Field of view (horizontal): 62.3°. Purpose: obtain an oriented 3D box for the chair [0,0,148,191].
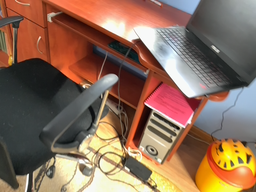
[{"bbox_3d":[-0.440,-0.010,0.790,0.620,1.070,0.630,32,46,17],"label":"chair"}]
